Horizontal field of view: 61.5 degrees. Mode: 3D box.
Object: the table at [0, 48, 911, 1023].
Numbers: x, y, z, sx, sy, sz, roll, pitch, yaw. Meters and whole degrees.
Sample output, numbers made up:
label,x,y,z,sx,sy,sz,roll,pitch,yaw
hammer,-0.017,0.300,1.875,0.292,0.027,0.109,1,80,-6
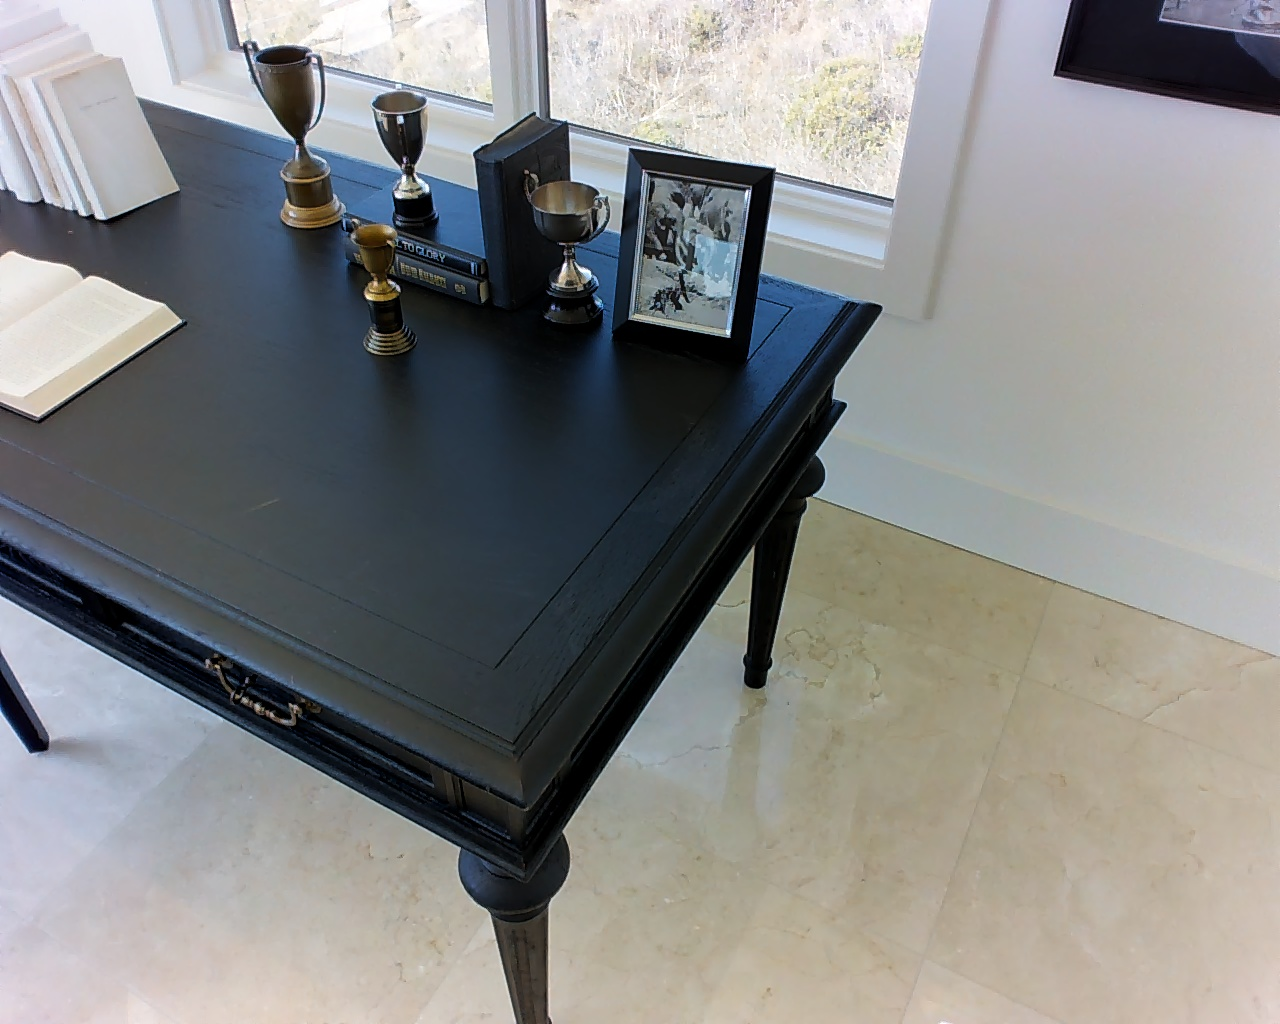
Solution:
label,x,y,z,sx,sy,sz,roll,pitch,yaw
table,-0.760,-0.060,1.790,2.040,0.820,0.990,20,45,20
